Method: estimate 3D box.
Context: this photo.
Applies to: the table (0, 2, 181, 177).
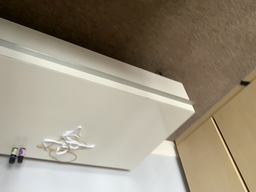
[{"bbox_3d":[-0.470,0.020,0.940,1.200,0.300,0.660,17,131,-26],"label":"table"}]
